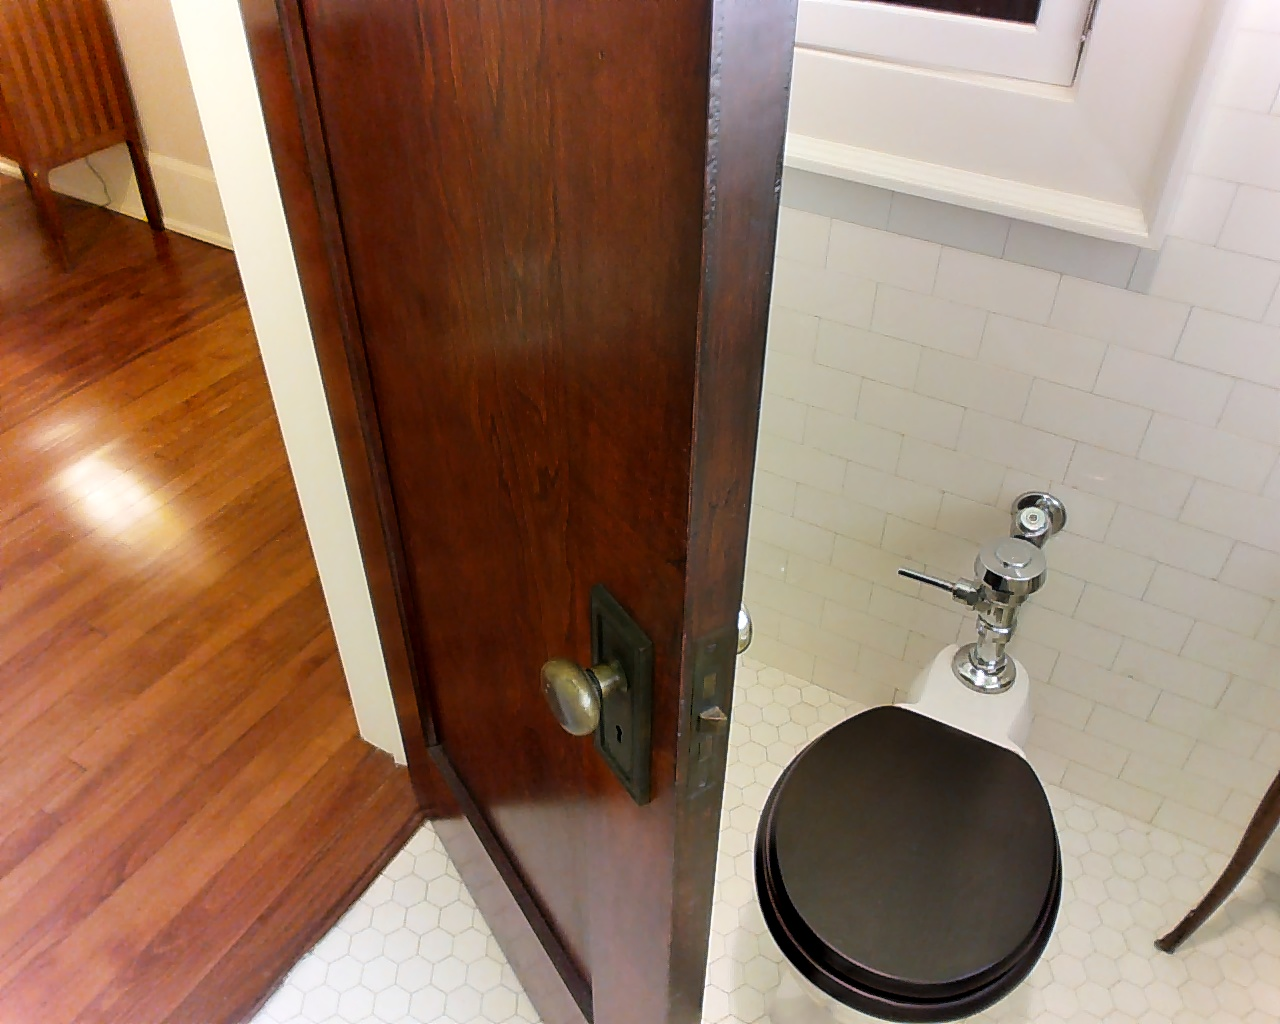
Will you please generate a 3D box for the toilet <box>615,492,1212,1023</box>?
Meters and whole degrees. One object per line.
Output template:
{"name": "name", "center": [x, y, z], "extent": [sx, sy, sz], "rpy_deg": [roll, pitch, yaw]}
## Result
{"name": "toilet", "center": [0.390, 0.450, 1.520], "extent": [0.500, 0.460, 0.790], "rpy_deg": [22, 46, 23]}
